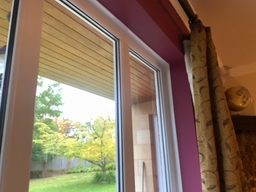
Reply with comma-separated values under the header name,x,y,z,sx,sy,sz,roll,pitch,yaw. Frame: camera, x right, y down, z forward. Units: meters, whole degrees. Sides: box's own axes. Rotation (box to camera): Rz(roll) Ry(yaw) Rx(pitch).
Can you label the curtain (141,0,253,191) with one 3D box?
name,x,y,z,sx,sy,sz,roll,pitch,yaw
curtain,0.460,0.620,1.200,0.450,2.300,0.610,-10,-18,28
